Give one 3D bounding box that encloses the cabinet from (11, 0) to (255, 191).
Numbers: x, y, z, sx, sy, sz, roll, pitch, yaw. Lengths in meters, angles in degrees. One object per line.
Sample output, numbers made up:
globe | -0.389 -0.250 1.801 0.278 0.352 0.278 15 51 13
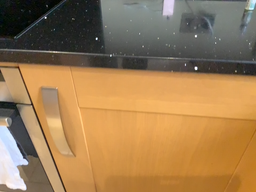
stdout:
cabinet | 0.110 0.080 0.900 0.580 0.900 0.650 4 39 5
